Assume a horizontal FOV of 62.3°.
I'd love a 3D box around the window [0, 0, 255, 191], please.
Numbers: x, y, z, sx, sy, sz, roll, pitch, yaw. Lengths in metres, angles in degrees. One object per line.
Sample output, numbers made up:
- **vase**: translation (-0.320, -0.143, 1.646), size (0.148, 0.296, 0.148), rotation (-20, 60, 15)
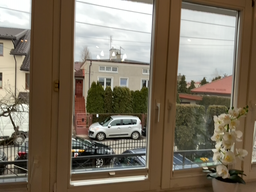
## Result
- **window**: translation (0.250, -0.060, 1.490), size (2.690, 1.450, 0.290), rotation (2, 3, -13)
